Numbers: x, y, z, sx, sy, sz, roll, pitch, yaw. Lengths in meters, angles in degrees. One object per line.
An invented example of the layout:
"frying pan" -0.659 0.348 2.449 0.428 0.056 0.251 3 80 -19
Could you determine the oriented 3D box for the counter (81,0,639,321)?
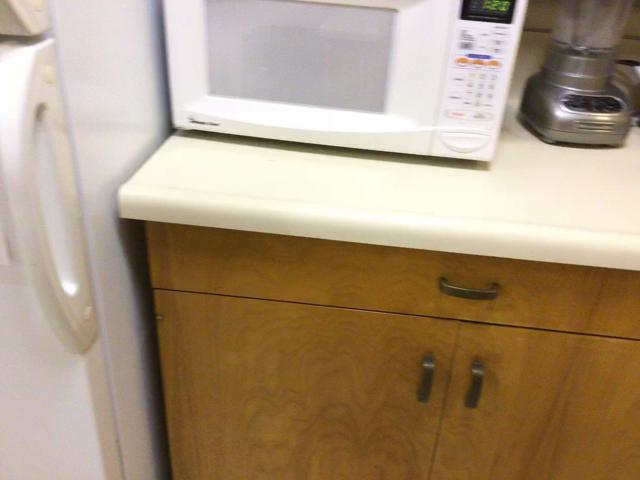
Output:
"counter" 1.100 -0.140 0.970 2.720 0.320 0.690 5 29 3
